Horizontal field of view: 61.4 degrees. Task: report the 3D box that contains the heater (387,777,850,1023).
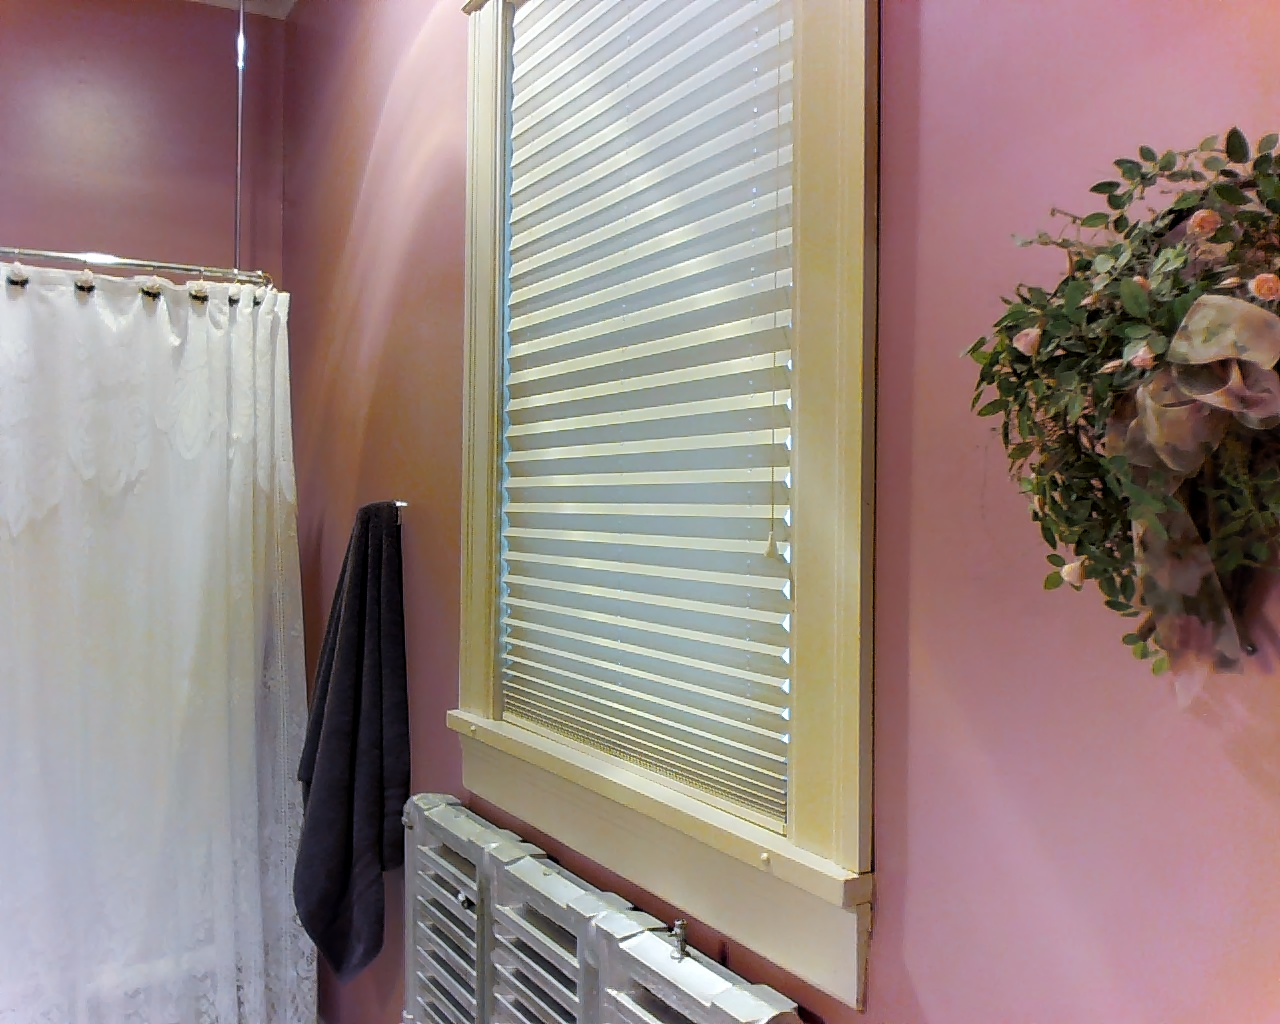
[{"bbox_3d":[-0.130,0.950,1.570,0.110,0.880,1.110,1,0,-32],"label":"heater"}]
